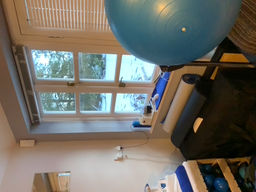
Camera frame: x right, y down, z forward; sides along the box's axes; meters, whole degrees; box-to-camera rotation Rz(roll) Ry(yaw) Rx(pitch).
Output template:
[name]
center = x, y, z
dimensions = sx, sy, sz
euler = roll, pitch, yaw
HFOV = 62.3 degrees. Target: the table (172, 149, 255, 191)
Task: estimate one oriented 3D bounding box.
[table]
center = 0.830, 0.750, 1.870
dimensions = 0.310, 0.730, 0.420
euler = 102, 164, -45
